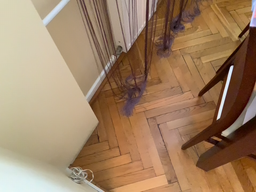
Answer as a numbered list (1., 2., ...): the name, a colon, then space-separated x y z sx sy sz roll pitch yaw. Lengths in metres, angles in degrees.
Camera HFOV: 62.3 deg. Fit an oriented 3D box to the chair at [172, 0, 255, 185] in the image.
1. chair: 0.570 0.040 0.870 0.530 0.930 0.410 23 69 13
